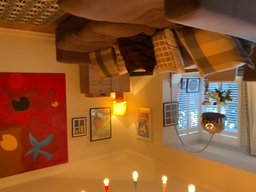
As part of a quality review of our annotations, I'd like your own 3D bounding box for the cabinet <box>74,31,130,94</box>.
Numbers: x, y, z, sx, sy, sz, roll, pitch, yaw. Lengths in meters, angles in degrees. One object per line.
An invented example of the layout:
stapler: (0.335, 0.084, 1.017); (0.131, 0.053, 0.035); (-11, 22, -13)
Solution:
cabinet: (-0.530, -0.670, 4.490); (1.050, 1.170, 0.470); (-4, -175, -38)
